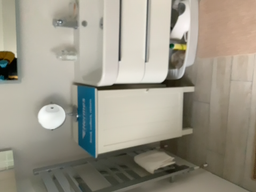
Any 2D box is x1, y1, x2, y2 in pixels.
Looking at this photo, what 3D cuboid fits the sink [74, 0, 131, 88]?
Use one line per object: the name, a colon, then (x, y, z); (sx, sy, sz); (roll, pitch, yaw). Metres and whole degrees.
sink: (-0.190, -0.470, 1.390); (0.490, 0.170, 0.790); (14, 104, 56)
